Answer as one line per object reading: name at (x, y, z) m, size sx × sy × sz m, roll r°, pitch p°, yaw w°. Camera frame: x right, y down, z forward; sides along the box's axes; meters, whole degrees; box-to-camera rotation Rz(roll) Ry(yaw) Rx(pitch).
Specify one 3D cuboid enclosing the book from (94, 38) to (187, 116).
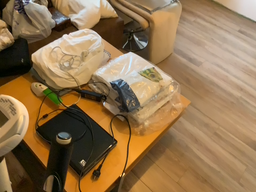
book at (0.080, -0.150, 1.390) m, size 0.420 × 0.120 × 0.420 m, roll 39°, pitch 57°, yaw 21°
